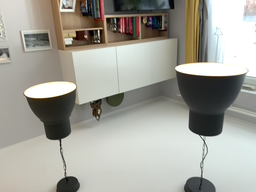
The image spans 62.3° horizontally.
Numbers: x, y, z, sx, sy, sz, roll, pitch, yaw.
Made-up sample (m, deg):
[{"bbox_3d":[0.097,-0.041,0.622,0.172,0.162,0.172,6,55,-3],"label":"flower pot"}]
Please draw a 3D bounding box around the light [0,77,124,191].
[{"bbox_3d":[-0.530,0.390,1.780,0.400,0.440,1.010,-40,104,14],"label":"light"}]

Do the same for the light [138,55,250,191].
[{"bbox_3d":[0.510,0.350,1.760,0.590,0.570,1.260,15,116,41],"label":"light"}]
